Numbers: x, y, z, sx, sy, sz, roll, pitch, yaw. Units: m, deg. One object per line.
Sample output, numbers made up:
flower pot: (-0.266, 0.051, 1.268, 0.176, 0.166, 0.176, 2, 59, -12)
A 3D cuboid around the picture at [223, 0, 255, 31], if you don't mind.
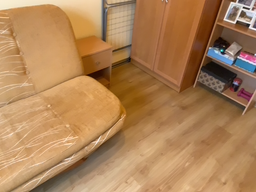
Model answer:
picture: (1.120, -0.740, 1.900, 0.100, 0.240, 0.450, -26, 47, -34)
